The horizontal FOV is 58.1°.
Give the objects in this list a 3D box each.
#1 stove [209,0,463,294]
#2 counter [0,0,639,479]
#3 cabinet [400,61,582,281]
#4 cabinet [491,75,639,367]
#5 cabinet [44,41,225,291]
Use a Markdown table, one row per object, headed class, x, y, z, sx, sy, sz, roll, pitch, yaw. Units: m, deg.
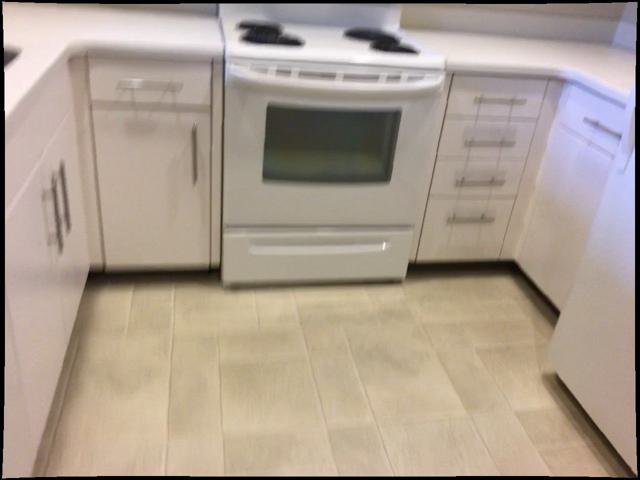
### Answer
| class | x | y | z | sx | sy | sz | roll | pitch | yaw |
| --- | --- | --- | --- | --- | --- | --- | --- | --- | --- |
| stove | -0.040 | -0.501 | 2.340 | 0.778 | 1.202 | 0.730 | -1 | 31 | -12 |
| counter | 0.130 | -0.351 | 1.560 | 3.013 | 0.090 | 2.191 | -1 | 31 | -12 |
| cabinet | 0.658 | -0.241 | 2.330 | 0.529 | 0.912 | 0.080 | -1 | 31 | -12 |
| cabinet | 0.928 | -0.080 | 2.130 | 0.120 | 0.882 | 0.620 | -1 | 31 | -12 |
| cabinet | -0.618 | -0.221 | 2.060 | 0.539 | 0.902 | 0.090 | -1 | 31 | -12 |
